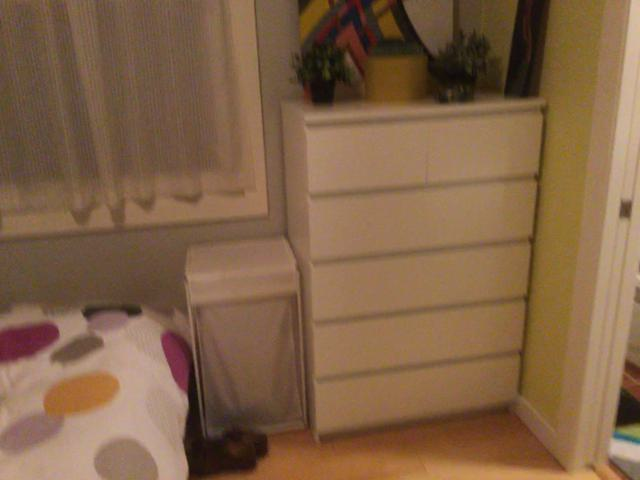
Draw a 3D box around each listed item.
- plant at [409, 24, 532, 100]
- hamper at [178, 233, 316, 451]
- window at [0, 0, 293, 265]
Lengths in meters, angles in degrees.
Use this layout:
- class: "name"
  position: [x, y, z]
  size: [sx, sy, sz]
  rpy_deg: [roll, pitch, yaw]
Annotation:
- class: "plant"
  position: [0.490, -0.590, 1.950]
  size: [0.250, 0.210, 0.400]
  rpy_deg: [-6, 15, -10]
- class: "hamper"
  position: [-0.270, 0.360, 2.150]
  size: [0.410, 0.670, 0.340]
  rpy_deg: [-6, 15, -10]
- class: "window"
  position: [-0.820, -0.770, 1.870]
  size: [1.340, 1.660, 0.140]
  rpy_deg: [-6, 15, -10]
